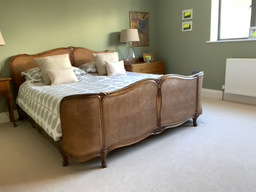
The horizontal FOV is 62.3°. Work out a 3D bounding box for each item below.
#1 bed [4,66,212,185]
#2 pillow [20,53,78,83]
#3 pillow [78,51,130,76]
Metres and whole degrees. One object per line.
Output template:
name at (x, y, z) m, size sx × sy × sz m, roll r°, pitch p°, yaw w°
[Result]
bed at (-0.360, 0.040, 2.990) m, size 1.980 × 0.620 × 2.160 m, roll -13°, pitch 18°, yaw -38°
pillow at (-1.130, -0.420, 3.010) m, size 0.560 × 0.330 × 0.690 m, roll -12°, pitch 17°, yaw -36°
pillow at (-0.410, -0.560, 3.520) m, size 0.530 × 0.330 × 0.720 m, roll -13°, pitch 17°, yaw -37°
